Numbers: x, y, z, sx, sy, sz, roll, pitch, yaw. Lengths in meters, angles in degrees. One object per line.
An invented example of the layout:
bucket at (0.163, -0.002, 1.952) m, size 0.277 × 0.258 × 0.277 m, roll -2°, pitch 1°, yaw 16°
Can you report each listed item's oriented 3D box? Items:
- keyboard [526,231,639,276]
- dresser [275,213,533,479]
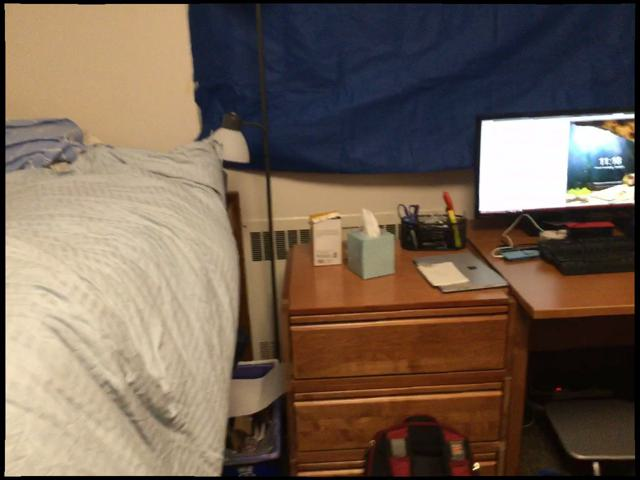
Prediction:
keyboard at (0.988, 0.040, 1.920) m, size 0.509 × 0.060 × 0.260 m, roll -1°, pitch 18°, yaw -3°
dresser at (0.220, 0.411, 2.140) m, size 0.729 × 0.822 × 0.840 m, roll -1°, pitch 18°, yaw -3°
